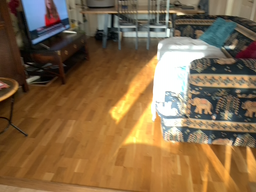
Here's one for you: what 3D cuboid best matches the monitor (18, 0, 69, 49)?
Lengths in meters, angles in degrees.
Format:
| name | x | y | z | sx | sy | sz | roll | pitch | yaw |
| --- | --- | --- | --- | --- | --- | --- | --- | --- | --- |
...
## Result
| name | x | y | z | sx | sy | sz | roll | pitch | yaw |
| --- | --- | --- | --- | --- | --- | --- | --- | --- | --- |
| monitor | -1.140 | -1.190 | 3.000 | 0.050 | 0.750 | 1.200 | 2 | 28 | 7 |

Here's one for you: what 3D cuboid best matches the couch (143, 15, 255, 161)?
| name | x | y | z | sx | sy | sz | roll | pitch | yaw |
| --- | --- | --- | --- | --- | --- | --- | --- | --- | --- |
| couch | 0.960 | -0.420 | 2.530 | 1.390 | 0.750 | 2.470 | 3 | 28 | 7 |
